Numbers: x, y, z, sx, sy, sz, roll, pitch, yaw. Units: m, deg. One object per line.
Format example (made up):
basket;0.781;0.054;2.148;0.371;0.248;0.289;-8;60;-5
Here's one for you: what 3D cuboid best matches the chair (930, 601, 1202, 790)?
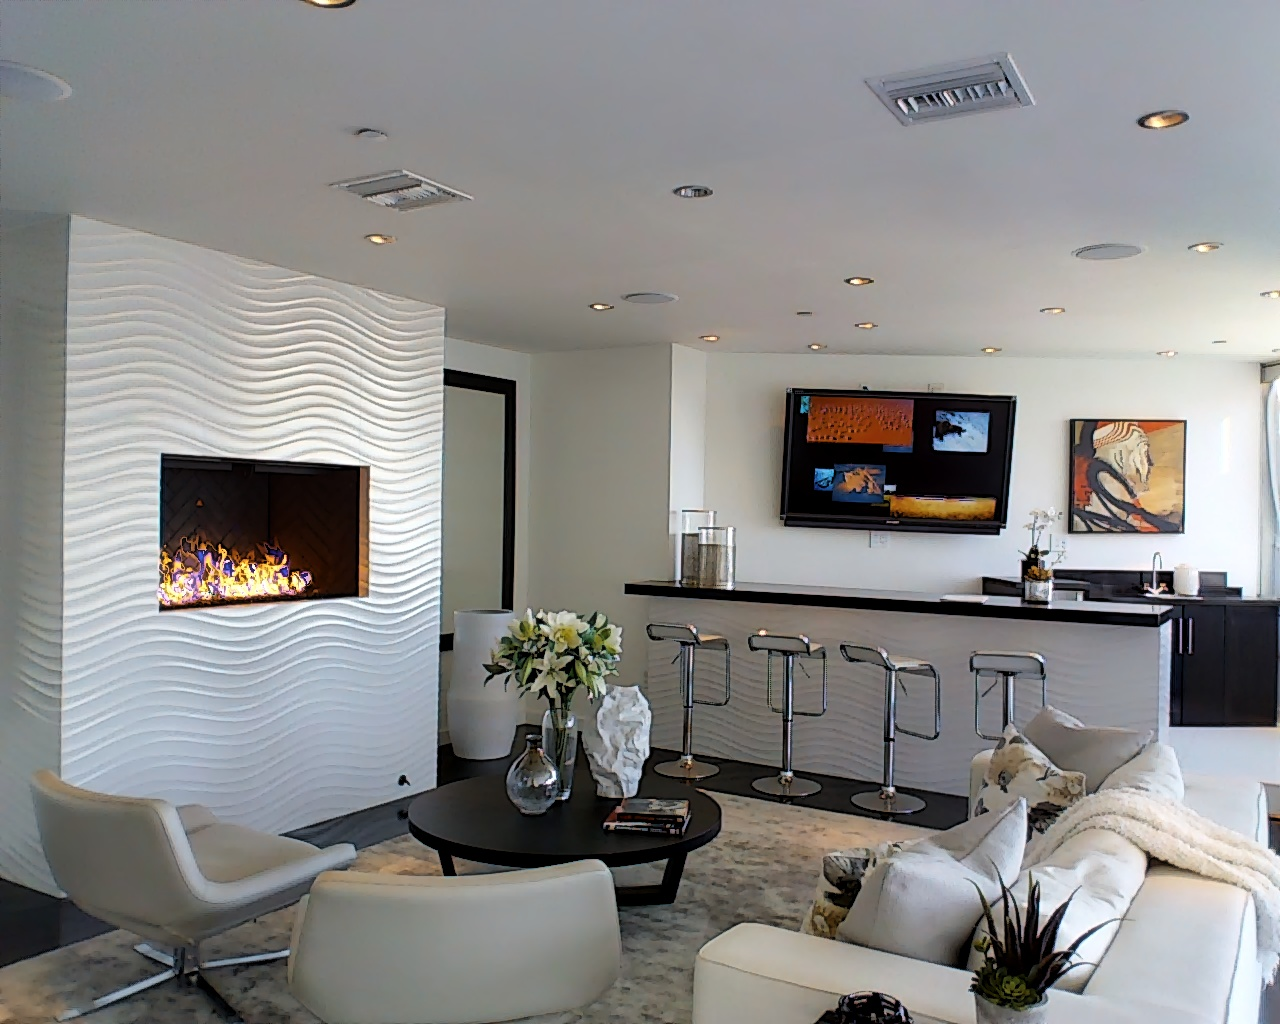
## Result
chair;2.030;0.860;5.270;0.990;0.750;0.870;1;0;2
